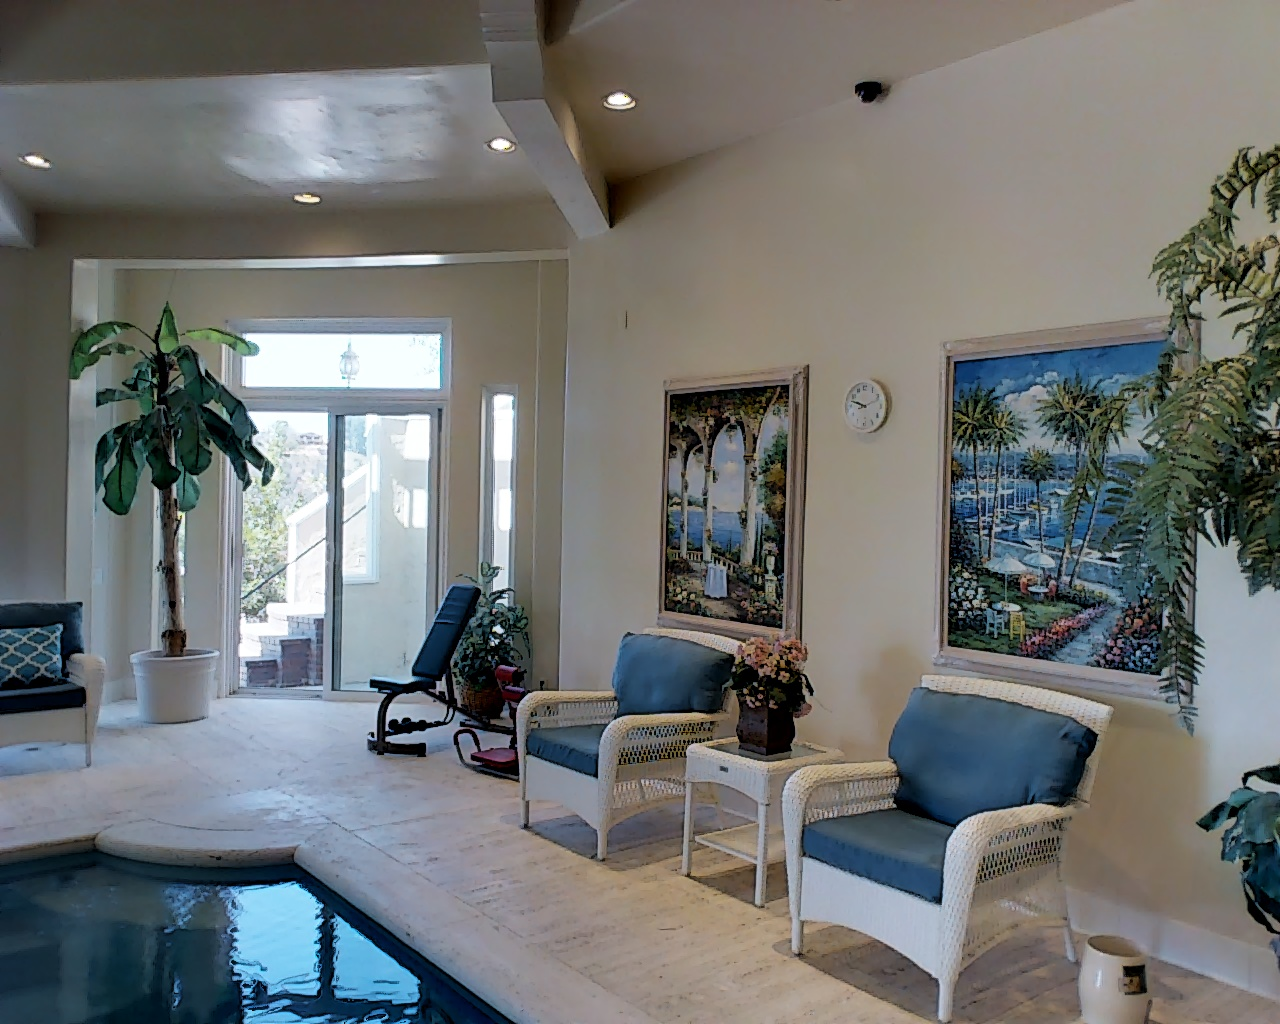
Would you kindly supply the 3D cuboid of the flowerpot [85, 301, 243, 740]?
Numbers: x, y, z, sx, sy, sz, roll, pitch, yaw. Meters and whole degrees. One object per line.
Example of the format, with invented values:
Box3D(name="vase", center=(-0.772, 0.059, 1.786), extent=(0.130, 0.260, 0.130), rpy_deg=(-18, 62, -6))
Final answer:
Box3D(name="flowerpot", center=(-3.561, 0.060, 7.970), extent=(0.950, 3.000, 0.990), rpy_deg=(1, 0, -29))
